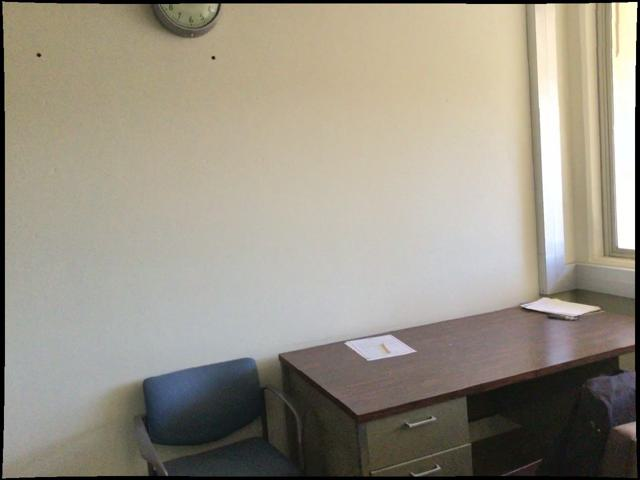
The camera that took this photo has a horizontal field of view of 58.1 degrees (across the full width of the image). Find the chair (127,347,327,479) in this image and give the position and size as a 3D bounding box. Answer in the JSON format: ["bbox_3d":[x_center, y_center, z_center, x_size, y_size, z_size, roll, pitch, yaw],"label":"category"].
[{"bbox_3d":[-0.359,0.892,2.240,0.619,0.702,0.540,-10,8,-20],"label":"chair"}]
